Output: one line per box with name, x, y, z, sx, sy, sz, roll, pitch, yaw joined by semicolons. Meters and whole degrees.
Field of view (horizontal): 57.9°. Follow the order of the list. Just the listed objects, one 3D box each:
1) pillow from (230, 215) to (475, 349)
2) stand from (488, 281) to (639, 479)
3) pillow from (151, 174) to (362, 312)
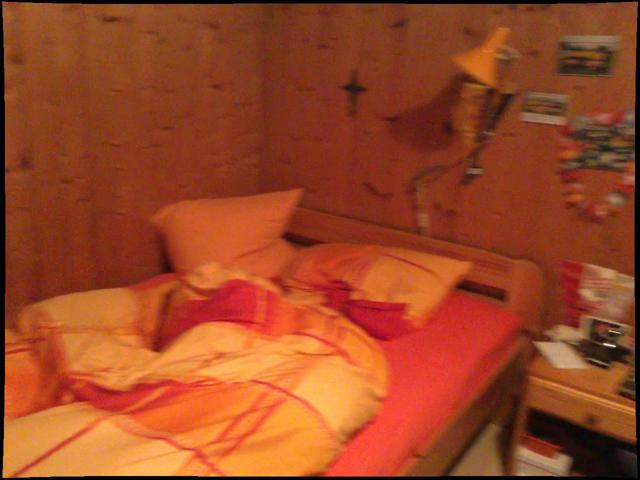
pillow;0.130;0.120;2.300;0.750;0.160;0.610;16;23;33
stand;0.999;0.571;2.030;0.550;0.581;0.570;16;23;33
pillow;-0.270;-0.030;2.560;0.640;0.320;0.650;16;23;33
